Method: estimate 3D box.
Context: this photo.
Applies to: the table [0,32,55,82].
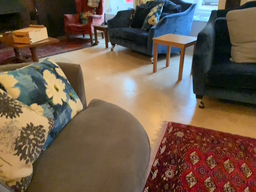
[{"bbox_3d":[-1.720,-0.660,3.300,1.010,0.450,0.630,22,36,38],"label":"table"}]
